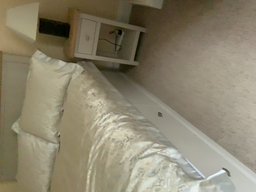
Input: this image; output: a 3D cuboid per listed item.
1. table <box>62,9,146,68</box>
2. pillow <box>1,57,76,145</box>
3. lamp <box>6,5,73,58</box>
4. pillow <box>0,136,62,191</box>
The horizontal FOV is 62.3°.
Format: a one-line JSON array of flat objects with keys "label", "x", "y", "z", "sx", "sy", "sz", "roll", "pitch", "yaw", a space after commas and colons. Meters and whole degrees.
[{"label": "table", "x": -0.250, "y": -0.550, "z": 2.030, "sx": 0.450, "sy": 0.630, "sz": 0.370, "roll": 44, "pitch": 125, "yaw": 55}, {"label": "pillow", "x": -0.740, "y": 0.060, "z": 1.850, "sx": 0.190, "sy": 0.420, "sz": 0.750, "roll": -79, "pitch": -12, "yaw": -64}, {"label": "lamp", "x": -0.760, "y": -0.550, "z": 1.820, "sx": 0.310, "sy": 0.470, "sz": 0.330, "roll": 41, "pitch": 122, "yaw": 56}, {"label": "pillow", "x": -0.950, "y": 0.760, "z": 2.130, "sx": 0.180, "sy": 0.400, "sz": 0.730, "roll": -80, "pitch": -10, "yaw": -64}]
